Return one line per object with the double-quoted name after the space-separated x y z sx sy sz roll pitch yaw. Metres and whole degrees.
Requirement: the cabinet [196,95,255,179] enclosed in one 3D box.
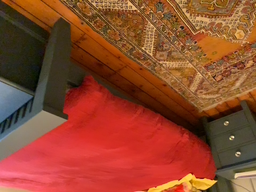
1.130 0.450 2.180 0.540 0.590 0.510 -29 138 30 "cabinet"
